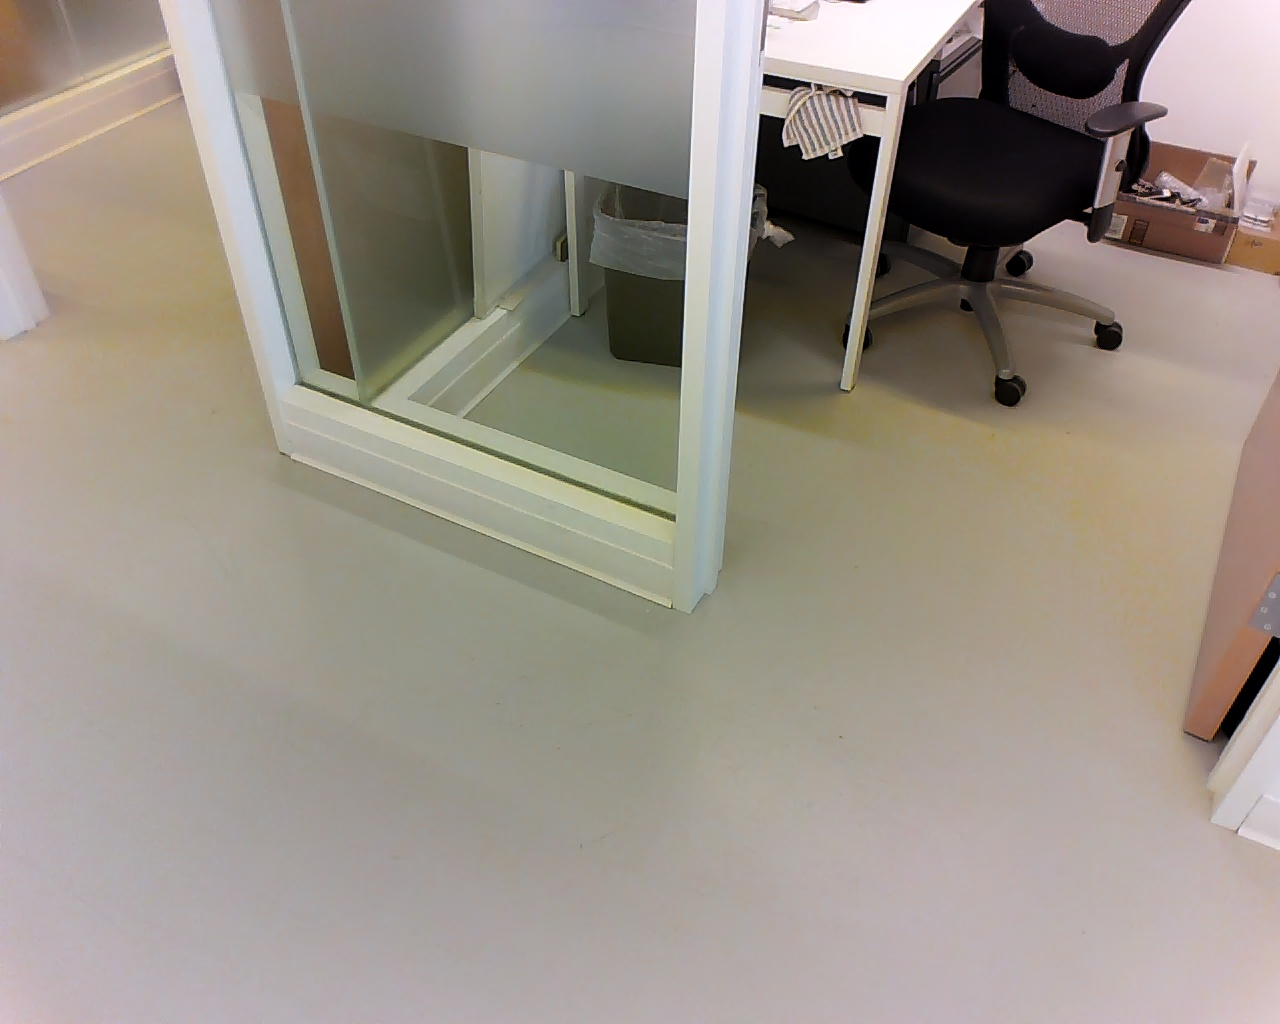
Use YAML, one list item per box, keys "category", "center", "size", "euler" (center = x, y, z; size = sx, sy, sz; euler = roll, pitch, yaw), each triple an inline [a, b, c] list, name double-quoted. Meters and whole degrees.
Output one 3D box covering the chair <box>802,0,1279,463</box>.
- category: "chair"
  center: [0.890, -0.850, 2.350]
  size: [0.640, 1.110, 0.750]
  euler: [30, 50, 30]
